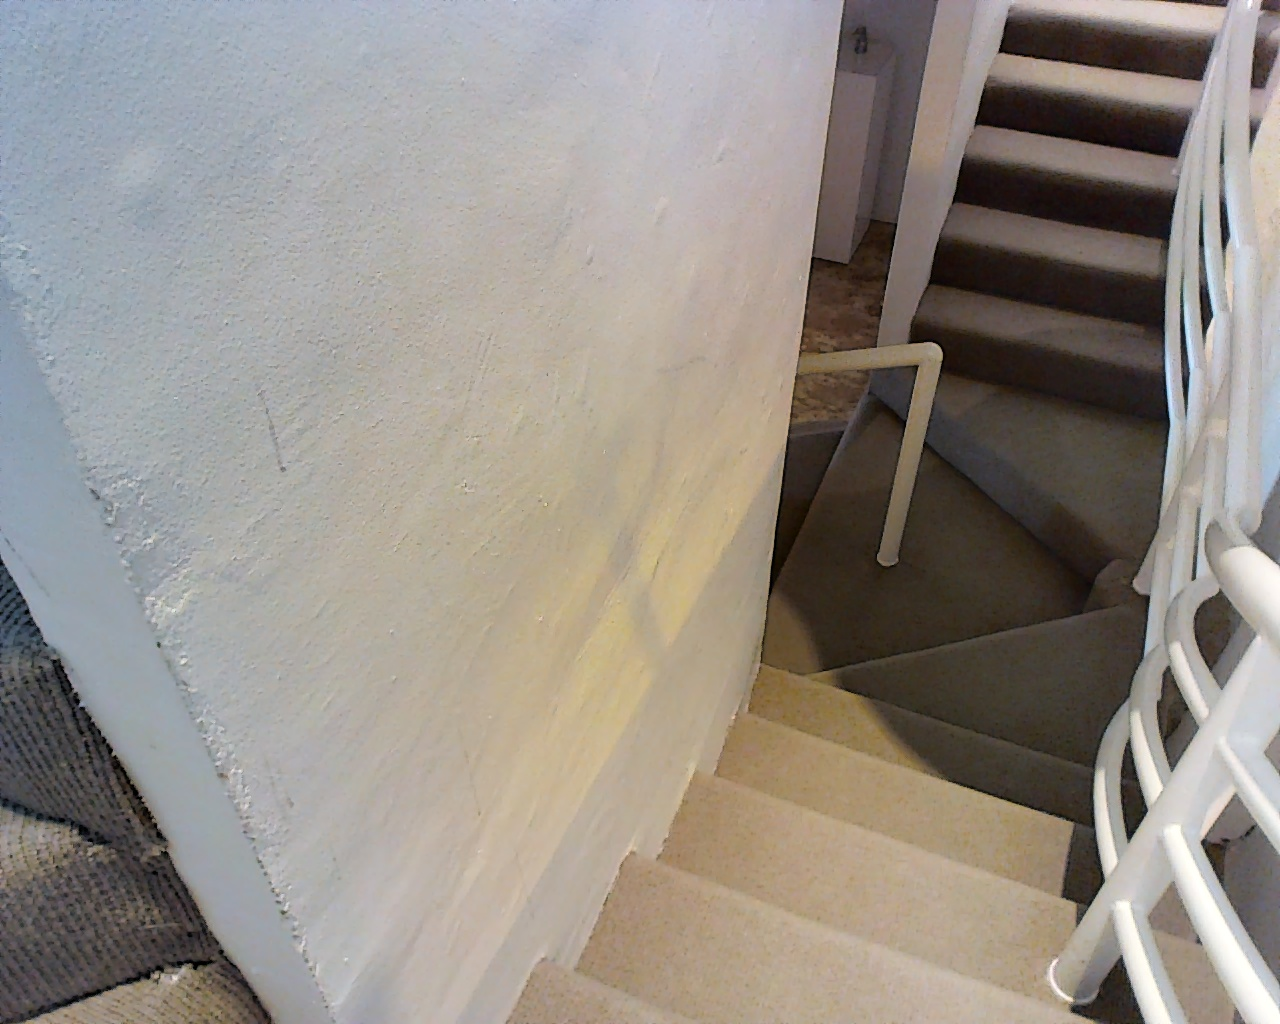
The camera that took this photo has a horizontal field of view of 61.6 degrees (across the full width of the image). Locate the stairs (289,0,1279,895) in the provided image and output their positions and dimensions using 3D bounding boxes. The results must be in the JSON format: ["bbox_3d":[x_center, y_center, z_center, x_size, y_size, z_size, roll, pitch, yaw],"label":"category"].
[{"bbox_3d":[1.150,-1.620,3.780,2.830,3.630,3.600,16,45,16],"label":"stairs"}]
